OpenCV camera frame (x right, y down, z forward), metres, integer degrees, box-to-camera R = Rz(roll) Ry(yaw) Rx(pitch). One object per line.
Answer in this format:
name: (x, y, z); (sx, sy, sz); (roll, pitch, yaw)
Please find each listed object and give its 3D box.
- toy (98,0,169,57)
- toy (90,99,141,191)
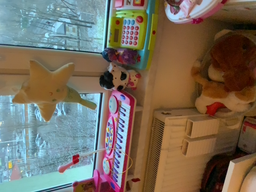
toy: (0.010, -0.320, 0.940); (0.270, 0.160, 0.240); (30, 117, 53)
toy: (-0.080, 0.320, 1.060); (0.210, 0.080, 0.570); (35, 120, 51)
